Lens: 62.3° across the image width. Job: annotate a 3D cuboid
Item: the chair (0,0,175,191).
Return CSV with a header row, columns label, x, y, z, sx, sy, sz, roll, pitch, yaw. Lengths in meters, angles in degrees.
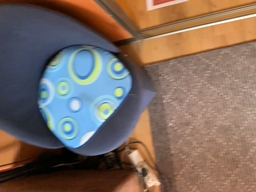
label,x,y,z,sx,sy,sz,roll,pitch,yaw
chair,-0.240,-0.030,0.890,0.600,0.660,0.500,30,97,20
